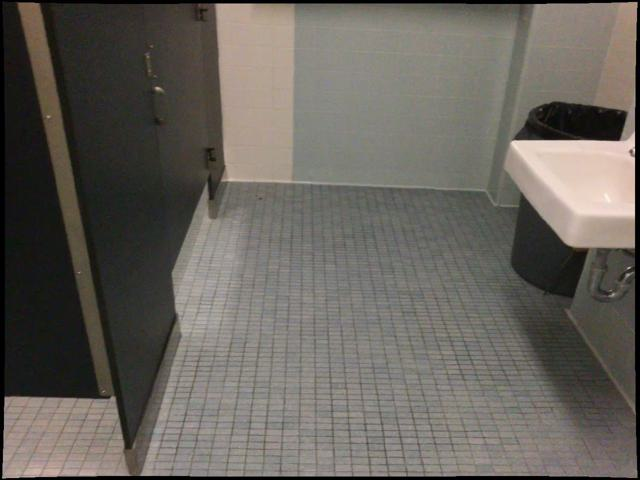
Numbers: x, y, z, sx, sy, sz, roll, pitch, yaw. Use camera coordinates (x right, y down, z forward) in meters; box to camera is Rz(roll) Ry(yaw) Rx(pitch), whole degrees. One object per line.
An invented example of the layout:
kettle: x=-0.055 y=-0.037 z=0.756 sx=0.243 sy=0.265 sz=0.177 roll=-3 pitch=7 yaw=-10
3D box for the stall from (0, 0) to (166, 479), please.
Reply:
stall: x=-0.788 y=0.090 z=1.370 sx=0.648 sy=1.273 sz=0.270 roll=-1 pitch=29 yaw=-3
